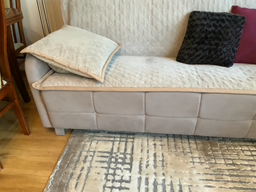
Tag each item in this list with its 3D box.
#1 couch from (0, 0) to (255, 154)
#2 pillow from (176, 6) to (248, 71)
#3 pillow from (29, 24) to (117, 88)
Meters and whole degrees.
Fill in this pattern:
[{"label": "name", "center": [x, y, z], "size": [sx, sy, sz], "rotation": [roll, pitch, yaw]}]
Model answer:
[{"label": "couch", "center": [0.490, -0.330, 1.570], "size": [2.120, 0.940, 1.050], "rotation": [3, 31, 6]}, {"label": "pillow", "center": [0.560, -0.400, 1.490], "size": [0.350, 0.340, 0.160], "rotation": [14, 33, 3]}, {"label": "pillow", "center": [-0.320, -0.310, 1.460], "size": [0.370, 0.230, 0.590], "rotation": [4, 31, 7]}]
